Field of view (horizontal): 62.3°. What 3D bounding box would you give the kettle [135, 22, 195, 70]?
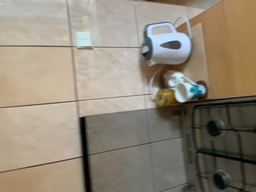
[{"bbox_3d":[0.180,-0.240,1.070,0.190,0.210,0.180,167,97,-65],"label":"kettle"}]
